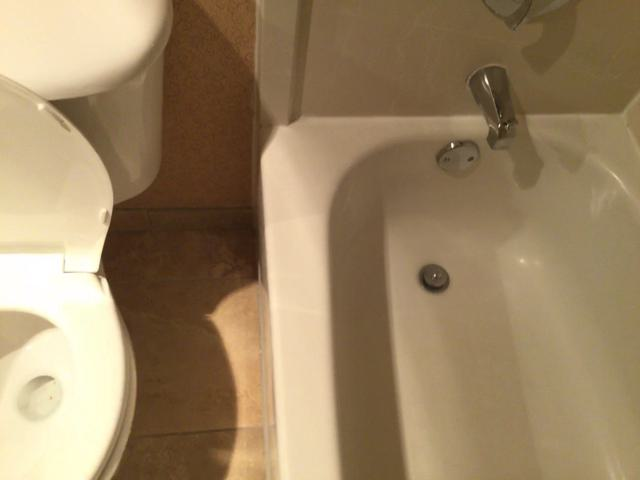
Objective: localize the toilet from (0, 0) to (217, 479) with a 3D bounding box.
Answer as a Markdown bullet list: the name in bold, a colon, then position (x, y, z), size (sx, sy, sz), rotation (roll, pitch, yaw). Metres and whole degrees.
- **toilet**: position (-0.420, 0.090, 0.810), size (0.500, 0.710, 0.700), rotation (-2, 62, -7)
